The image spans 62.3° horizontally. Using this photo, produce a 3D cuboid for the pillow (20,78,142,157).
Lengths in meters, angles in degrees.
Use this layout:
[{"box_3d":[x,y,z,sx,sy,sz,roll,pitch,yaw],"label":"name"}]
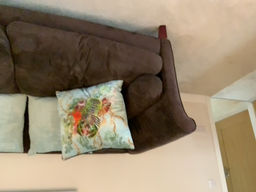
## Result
[{"box_3d":[-0.370,0.220,1.700,0.850,0.430,0.390,-12,155,24],"label":"pillow"}]
